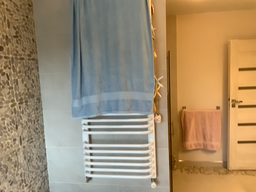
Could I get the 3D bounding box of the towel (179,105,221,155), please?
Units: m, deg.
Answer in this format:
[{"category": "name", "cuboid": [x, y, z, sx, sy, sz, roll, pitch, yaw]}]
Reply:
[{"category": "towel", "cuboid": [1.170, 0.550, 3.500, 0.630, 0.790, 0.190, -1, 7, 10]}]
